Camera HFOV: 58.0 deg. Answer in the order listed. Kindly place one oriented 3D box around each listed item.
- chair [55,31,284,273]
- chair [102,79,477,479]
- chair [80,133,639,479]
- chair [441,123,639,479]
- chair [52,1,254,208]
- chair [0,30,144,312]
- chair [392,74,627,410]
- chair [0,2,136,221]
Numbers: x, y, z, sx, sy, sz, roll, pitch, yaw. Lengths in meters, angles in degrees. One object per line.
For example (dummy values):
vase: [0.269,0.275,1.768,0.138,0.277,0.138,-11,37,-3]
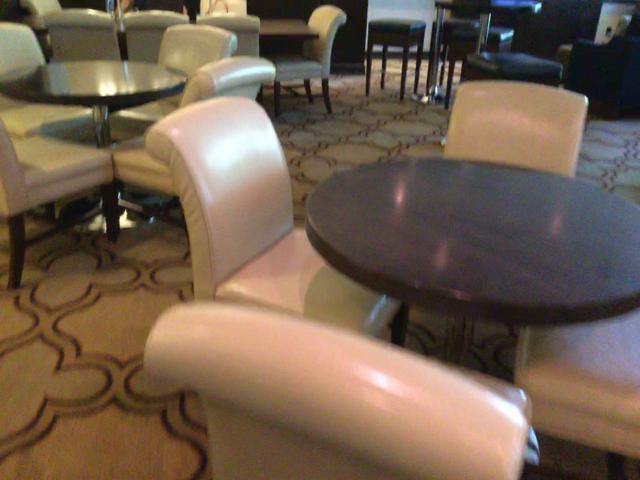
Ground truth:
chair: [-0.680,-0.460,2.780,0.830,0.880,0.560,18,32,26]
chair: [-0.060,0.090,1.790,0.840,0.940,0.610,12,30,17]
chair: [0.140,0.400,1.140,0.610,0.930,0.820,14,31,20]
chair: [0.830,0.280,1.490,0.870,0.920,0.600,9,29,12]
chair: [-0.920,-0.850,3.440,0.680,0.940,0.840,16,32,24]
chair: [-1.350,-0.340,2.510,0.600,0.930,0.850,18,32,26]
chair: [0.620,-0.040,2.110,0.530,0.910,0.770,9,29,11]
chair: [-1.680,-0.780,3.310,0.920,0.950,0.660,20,33,28]
